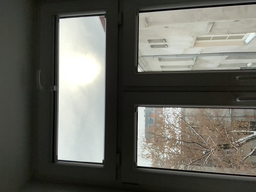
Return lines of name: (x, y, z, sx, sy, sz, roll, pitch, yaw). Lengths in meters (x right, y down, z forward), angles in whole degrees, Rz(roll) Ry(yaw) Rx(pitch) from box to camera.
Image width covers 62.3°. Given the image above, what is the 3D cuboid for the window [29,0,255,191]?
window: (0.280, -0.070, 1.150, 0.120, 1.740, 1.120, -19, -70, -77)
